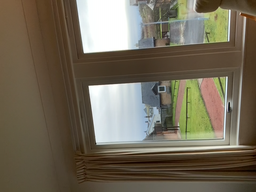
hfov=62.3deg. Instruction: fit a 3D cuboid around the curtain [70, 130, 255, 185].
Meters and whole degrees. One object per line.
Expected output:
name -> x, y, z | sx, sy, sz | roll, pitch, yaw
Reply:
curtain -> 0.540, 0.630, 2.170 | 0.150, 2.210, 0.470 | -79, -15, -72
